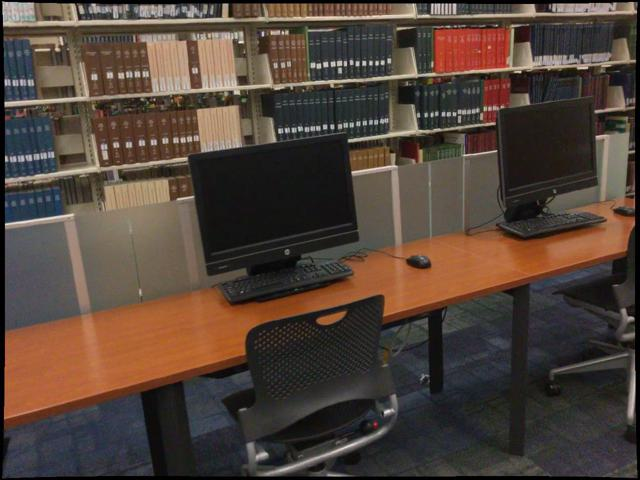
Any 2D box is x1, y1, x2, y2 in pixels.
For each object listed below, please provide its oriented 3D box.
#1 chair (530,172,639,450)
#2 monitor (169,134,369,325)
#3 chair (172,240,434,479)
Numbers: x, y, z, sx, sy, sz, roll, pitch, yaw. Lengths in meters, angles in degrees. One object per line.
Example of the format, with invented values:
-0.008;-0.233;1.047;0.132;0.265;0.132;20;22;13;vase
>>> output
1.327;0.251;2.320;0.599;0.882;0.650;-13;19;-24;chair
-0.160;-0.060;1.980;0.589;0.511;0.240;-13;19;-24;monitor
-0.050;0.531;1.890;0.619;0.852;0.550;-13;19;-24;chair
